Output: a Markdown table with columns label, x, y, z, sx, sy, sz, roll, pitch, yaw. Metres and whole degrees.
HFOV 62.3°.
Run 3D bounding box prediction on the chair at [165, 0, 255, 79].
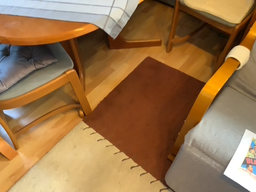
| label | x | y | z | sx | sy | sz | roll | pitch | yaw |
| --- | --- | --- | --- | --- | --- | --- | --- | --- | --- |
| chair | 0.650 | -0.740 | 1.360 | 0.440 | 1.110 | 0.570 | 34 | 63 | 23 |
